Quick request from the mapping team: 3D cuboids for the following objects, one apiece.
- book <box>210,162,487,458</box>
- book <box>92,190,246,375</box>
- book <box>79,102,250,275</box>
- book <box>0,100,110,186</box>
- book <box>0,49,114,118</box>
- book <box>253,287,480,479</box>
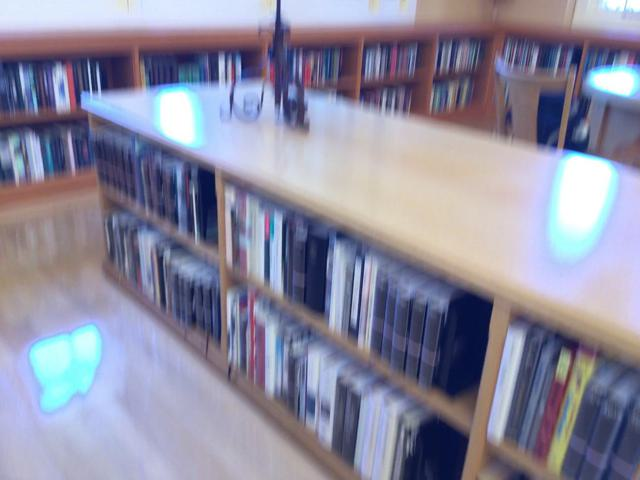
[{"bbox_3d":[0.000,0.110,1.430,0.140,0.410,0.810,-16,29,-37],"label":"book"},{"bbox_3d":[-0.590,0.110,2.150,0.150,0.340,0.920,-16,29,-37],"label":"book"},{"bbox_3d":[-0.560,-0.220,1.980,0.190,0.350,0.870,-16,29,-37],"label":"book"},{"bbox_3d":[-1.580,-0.540,3.170,0.730,0.360,0.270,-16,29,-37],"label":"book"},{"bbox_3d":[-1.530,-0.840,3.070,0.750,0.300,0.260,-16,29,-37],"label":"book"},{"bbox_3d":[0.080,0.390,1.500,0.190,0.280,0.620,-16,29,-37],"label":"book"}]
